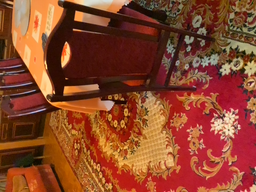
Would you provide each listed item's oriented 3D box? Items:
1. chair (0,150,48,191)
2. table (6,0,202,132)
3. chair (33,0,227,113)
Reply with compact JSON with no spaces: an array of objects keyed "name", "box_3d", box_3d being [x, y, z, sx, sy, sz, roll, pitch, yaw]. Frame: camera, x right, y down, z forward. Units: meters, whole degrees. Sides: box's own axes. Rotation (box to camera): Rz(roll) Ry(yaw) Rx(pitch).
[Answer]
[{"name":"chair","box_3d":[-1.900,1.360,3.680,0.470,0.800,0.520,42,121,44]},{"name":"table","box_3d":[-0.520,-0.680,2.020,2.040,0.790,0.940,41,120,44]},{"name":"chair","box_3d":[0.030,-0.230,1.210,0.480,0.910,0.450,38,118,45]}]
